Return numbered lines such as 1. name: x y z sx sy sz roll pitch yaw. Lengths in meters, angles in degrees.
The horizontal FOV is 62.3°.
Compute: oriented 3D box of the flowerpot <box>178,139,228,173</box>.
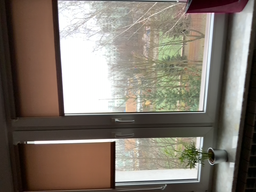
1. flowerpot: 0.510 0.410 1.460 0.090 0.300 0.200 -108 18 -75
